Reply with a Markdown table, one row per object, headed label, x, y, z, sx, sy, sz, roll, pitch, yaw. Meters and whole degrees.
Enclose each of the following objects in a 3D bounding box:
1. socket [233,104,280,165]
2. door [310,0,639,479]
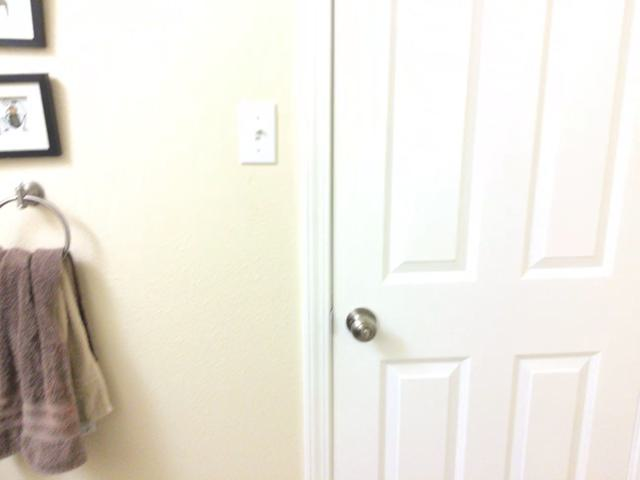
| label | x | y | z | sx | sy | sz | roll | pitch | yaw |
| --- | --- | --- | --- | --- | --- | --- | --- | --- | --- |
| socket | -0.120 | -0.200 | 1.100 | 0.080 | 0.110 | 0.020 | -3 | 14 | -3 |
| door | 0.430 | 0.080 | 1.200 | 0.850 | 2.050 | 0.080 | -3 | 14 | -3 |
